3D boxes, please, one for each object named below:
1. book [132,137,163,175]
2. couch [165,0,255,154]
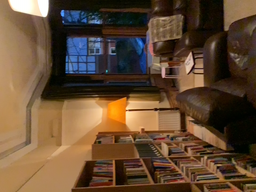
[{"bbox_3d":[0.250,0.810,2.980,0.770,0.290,0.300,-174,84,-85],"label":"book"},{"bbox_3d":[1.010,-0.220,2.120,1.170,0.960,1.110,-117,27,-78],"label":"couch"}]
